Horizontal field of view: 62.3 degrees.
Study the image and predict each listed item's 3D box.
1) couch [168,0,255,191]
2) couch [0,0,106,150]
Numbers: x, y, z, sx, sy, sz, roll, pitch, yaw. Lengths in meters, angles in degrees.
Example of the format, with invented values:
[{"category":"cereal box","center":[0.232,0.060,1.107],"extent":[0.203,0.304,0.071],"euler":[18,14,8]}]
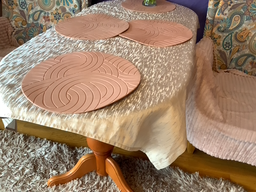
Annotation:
[{"category":"couch","center":[0.770,-0.180,1.200],"extent":[0.840,1.030,0.990],"euler":[10,38,10]},{"category":"couch","center":[-0.680,-0.410,1.440],"extent":[0.780,1.020,0.950],"euler":[9,38,9]}]
